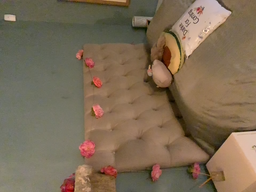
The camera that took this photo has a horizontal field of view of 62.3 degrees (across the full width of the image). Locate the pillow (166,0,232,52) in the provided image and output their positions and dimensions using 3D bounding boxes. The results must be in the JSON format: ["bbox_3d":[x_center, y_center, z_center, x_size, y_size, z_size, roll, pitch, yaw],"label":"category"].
[{"bbox_3d":[0.480,-0.580,1.520,0.160,0.390,0.320,23,-130,-28],"label":"pillow"}]
